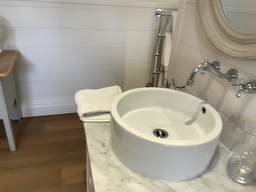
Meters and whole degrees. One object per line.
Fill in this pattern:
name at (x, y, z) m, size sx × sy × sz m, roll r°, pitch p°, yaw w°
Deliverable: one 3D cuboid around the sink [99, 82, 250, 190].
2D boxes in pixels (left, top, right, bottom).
sink at (0.130, 0.110, 0.850) m, size 0.430 × 0.170 × 0.420 m, roll -2°, pitch 28°, yaw -16°
